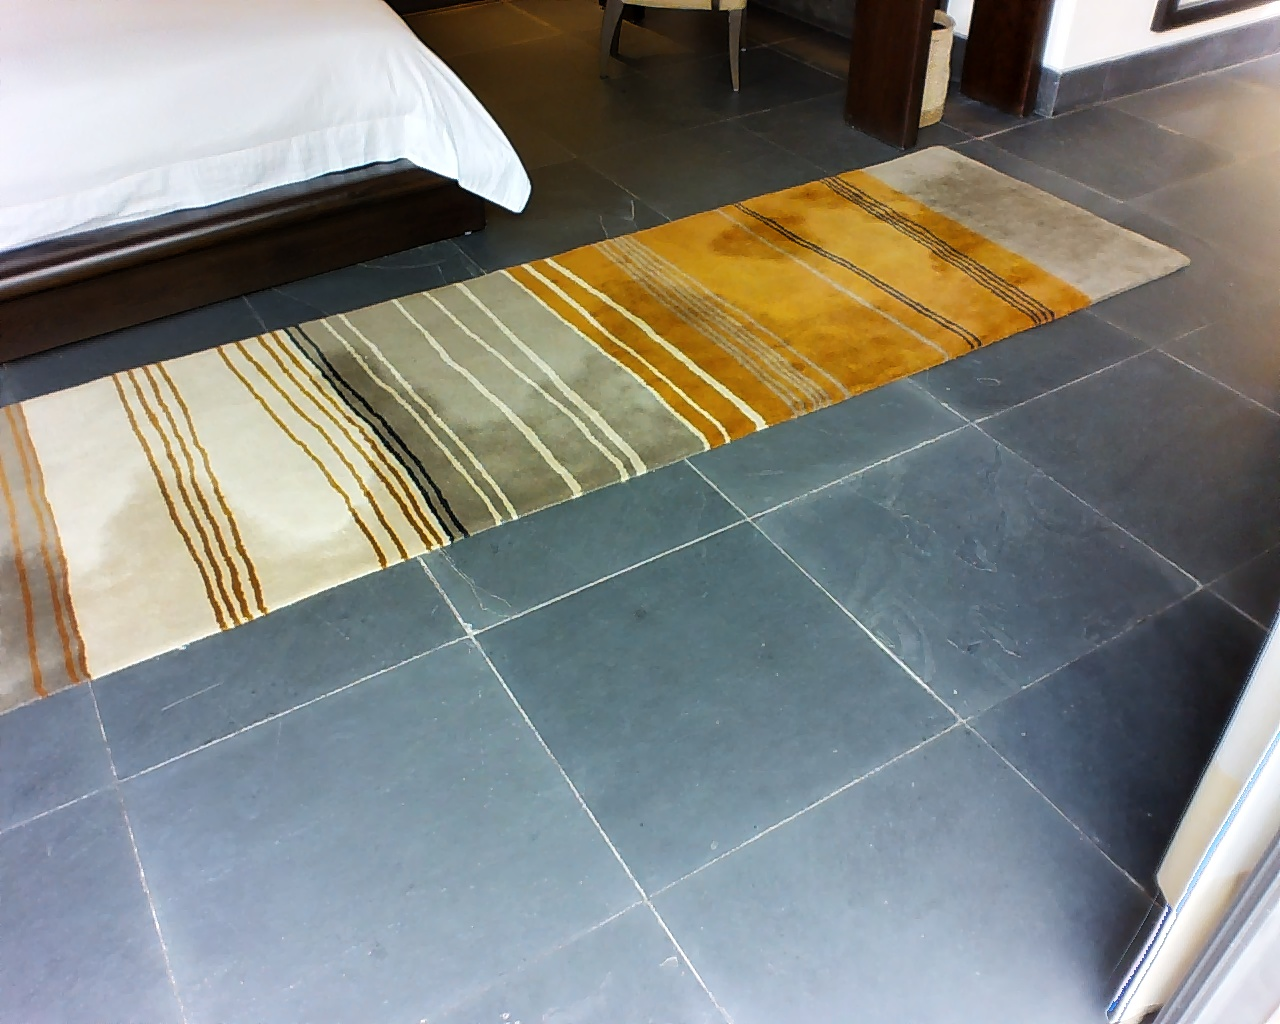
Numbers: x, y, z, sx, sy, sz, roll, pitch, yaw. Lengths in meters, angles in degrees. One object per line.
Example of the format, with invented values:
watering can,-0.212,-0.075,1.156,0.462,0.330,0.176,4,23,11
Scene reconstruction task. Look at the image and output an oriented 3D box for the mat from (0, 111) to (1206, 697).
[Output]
mat,-0.610,-0.280,2.430,4.399,0.060,1.010,-22,45,-22
